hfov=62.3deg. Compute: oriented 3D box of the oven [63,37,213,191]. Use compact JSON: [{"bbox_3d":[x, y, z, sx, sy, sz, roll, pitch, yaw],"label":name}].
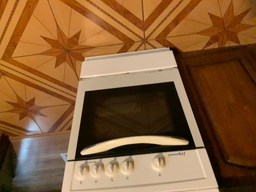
[{"bbox_3d":[0.040,0.160,1.200,0.520,0.710,0.620,-6,137,2],"label":"oven"}]
